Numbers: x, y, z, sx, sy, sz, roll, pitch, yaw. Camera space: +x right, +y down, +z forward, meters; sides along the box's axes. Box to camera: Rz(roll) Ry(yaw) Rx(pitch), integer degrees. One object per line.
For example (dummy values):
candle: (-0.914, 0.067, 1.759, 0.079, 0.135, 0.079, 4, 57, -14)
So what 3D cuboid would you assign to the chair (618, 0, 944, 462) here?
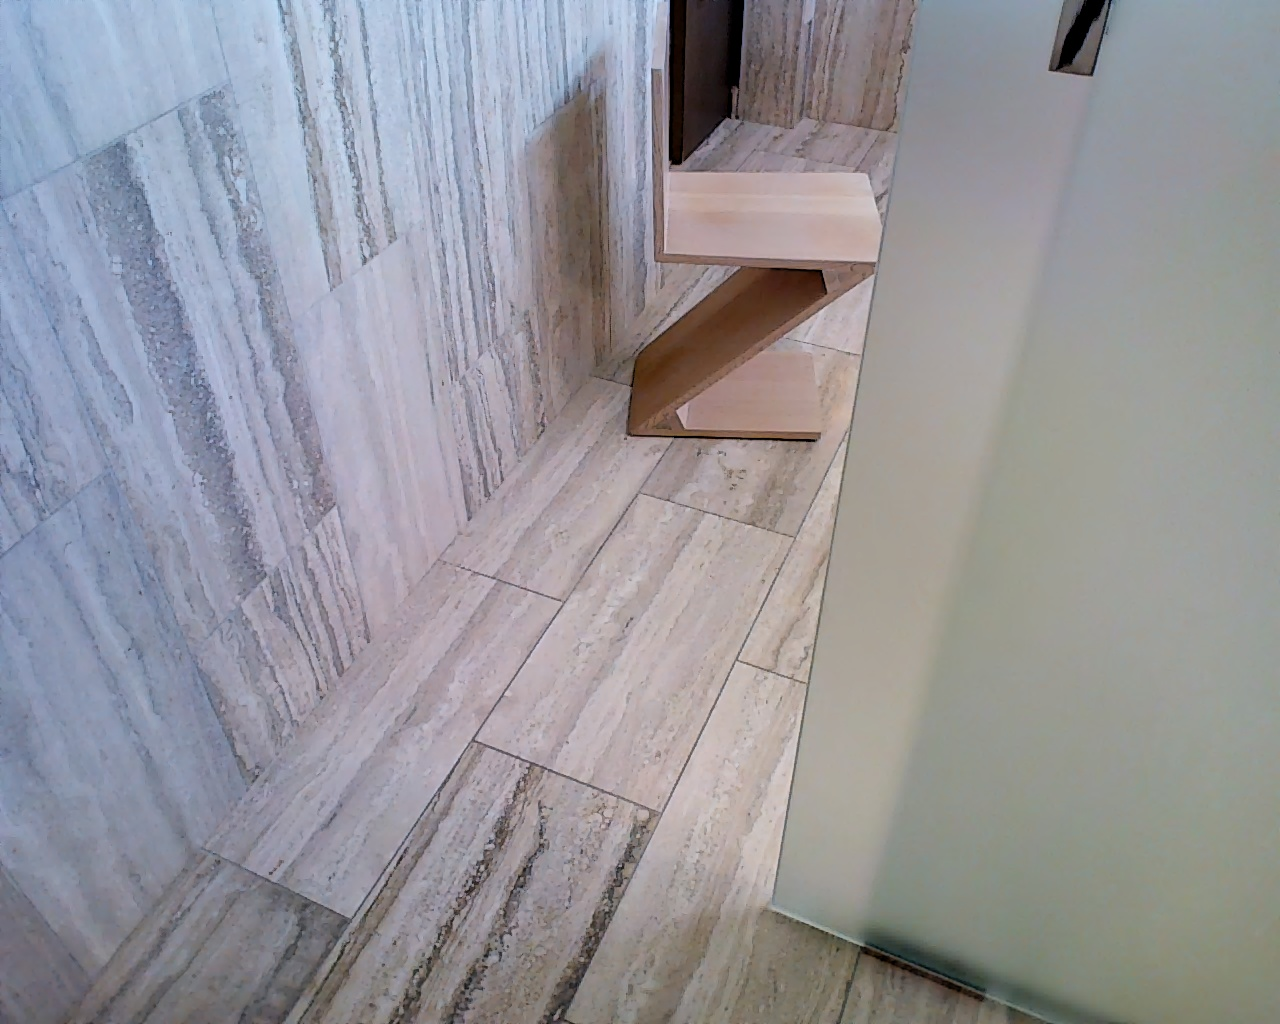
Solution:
chair: (0.230, -0.510, 2.010, 0.490, 0.750, 0.370, 2, 42, 4)
